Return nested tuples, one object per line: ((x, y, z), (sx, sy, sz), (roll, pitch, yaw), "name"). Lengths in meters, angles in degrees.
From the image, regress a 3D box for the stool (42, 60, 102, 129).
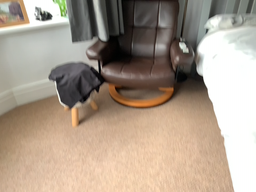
((-0.390, -0.020, 1.620), (0.310, 0.400, 0.350), (1, 33, 2), "stool")
